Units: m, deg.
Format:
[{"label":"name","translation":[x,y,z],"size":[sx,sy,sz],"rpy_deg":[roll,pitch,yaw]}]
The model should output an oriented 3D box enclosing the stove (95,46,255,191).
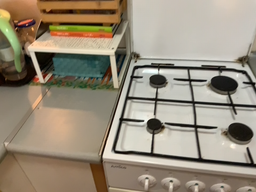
[{"label":"stove","translation":[0.220,0.030,0.780],"size":[0.510,0.150,0.610],"rpy_deg":[4,39,8]}]
